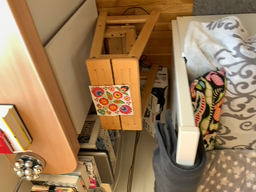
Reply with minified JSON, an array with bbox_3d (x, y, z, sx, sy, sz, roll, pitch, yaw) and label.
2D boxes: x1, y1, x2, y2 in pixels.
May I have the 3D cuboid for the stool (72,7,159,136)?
[{"bbox_3d":[0.000,-0.150,1.090,0.310,0.560,0.410,0,130,8],"label":"stool"}]
